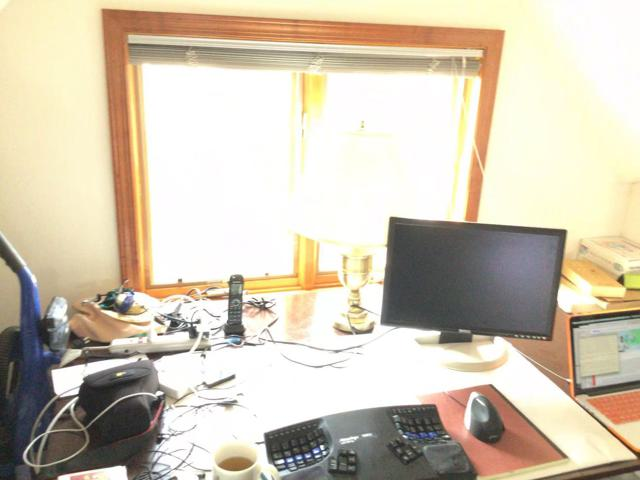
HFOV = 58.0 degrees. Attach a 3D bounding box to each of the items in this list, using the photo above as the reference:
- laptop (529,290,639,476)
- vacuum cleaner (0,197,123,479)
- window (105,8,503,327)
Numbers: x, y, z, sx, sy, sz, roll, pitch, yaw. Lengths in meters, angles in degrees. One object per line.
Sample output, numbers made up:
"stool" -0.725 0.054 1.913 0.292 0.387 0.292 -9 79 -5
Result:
"laptop" 0.800 0.330 1.450 0.340 0.240 0.380 -5 20 -15
"vacuum cleaner" -0.800 0.480 1.620 0.360 1.100 0.450 -5 20 -15
"window" -0.030 -0.260 1.930 1.180 0.930 0.260 -5 20 -15
